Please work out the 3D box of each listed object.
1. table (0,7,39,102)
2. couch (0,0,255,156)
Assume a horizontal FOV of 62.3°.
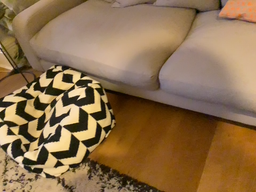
[{"bbox_3d":[-1.020,-0.310,1.550,0.350,0.550,0.360,16,50,24],"label":"table"},{"bbox_3d":[0.350,-0.460,1.310,2.130,0.750,1.070,16,50,24],"label":"couch"}]
